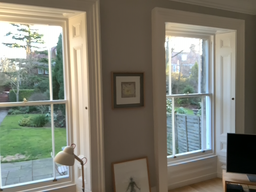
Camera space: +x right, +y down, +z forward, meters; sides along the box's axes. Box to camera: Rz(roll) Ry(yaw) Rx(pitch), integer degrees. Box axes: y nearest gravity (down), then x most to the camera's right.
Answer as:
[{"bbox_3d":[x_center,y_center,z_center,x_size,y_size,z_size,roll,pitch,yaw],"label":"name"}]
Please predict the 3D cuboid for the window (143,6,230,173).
[{"bbox_3d":[0.980,-0.100,3.440,1.420,2.330,0.400,-3,4,-26],"label":"window"}]

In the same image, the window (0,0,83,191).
[{"bbox_3d":[-1.280,0.070,2.520,1.340,2.280,0.340,-3,4,-24],"label":"window"}]

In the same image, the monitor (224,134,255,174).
[{"bbox_3d":[1.780,0.780,2.800,0.930,0.510,0.060,0,3,17],"label":"monitor"}]
